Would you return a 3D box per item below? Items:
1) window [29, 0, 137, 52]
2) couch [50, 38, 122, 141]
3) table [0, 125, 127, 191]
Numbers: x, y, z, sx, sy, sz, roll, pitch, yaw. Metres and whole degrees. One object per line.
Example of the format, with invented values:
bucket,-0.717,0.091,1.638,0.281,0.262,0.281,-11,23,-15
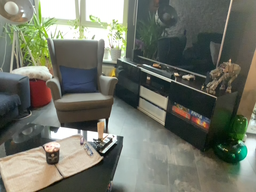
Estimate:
window,-0.780,-1.660,3.600,1.840,1.580,0.220,8,23,8
couch,-0.570,-0.150,2.640,0.640,0.960,0.920,-5,24,-22
table,-0.530,0.650,1.590,0.900,0.310,0.950,7,23,6
